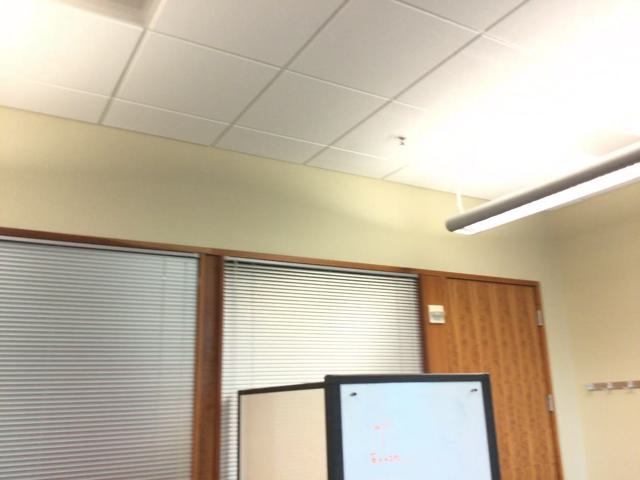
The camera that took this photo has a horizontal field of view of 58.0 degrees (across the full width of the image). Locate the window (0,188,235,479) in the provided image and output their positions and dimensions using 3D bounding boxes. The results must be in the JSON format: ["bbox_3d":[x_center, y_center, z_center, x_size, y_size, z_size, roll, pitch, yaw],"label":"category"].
[{"bbox_3d":[-1.620,0.650,2.320,2.620,1.790,0.300,6,-18,-31],"label":"window"}]

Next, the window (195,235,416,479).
[{"bbox_3d":[-0.040,0.890,3.160,1.310,1.680,0.210,9,-20,-38],"label":"window"}]
